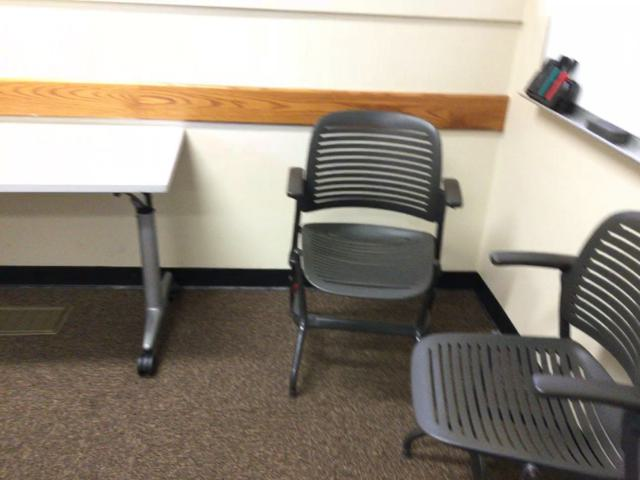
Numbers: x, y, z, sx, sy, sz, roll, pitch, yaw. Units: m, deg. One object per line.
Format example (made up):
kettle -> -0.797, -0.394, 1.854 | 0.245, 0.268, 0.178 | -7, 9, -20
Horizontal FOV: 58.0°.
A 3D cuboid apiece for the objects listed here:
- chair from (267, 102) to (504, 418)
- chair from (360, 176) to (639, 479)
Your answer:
chair -> 0.170, 0.040, 1.990 | 0.610, 0.870, 0.600 | 4, 23, 1
chair -> 0.490, 0.340, 1.330 | 0.630, 0.820, 0.570 | 1, 23, -8
